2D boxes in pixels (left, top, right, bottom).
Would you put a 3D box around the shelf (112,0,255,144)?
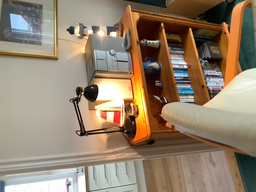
[{"bbox_3d":[0.430,-0.170,1.630,0.360,0.940,0.930,137,129,-60],"label":"shelf"}]
